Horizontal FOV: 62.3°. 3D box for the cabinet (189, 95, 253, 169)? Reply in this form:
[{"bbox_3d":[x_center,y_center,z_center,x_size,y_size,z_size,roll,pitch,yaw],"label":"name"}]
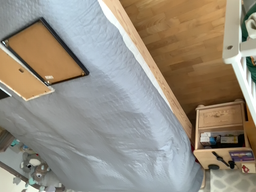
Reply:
[{"bbox_3d":[0.790,0.320,1.820,0.390,0.480,0.360,-13,134,32],"label":"cabinet"}]
